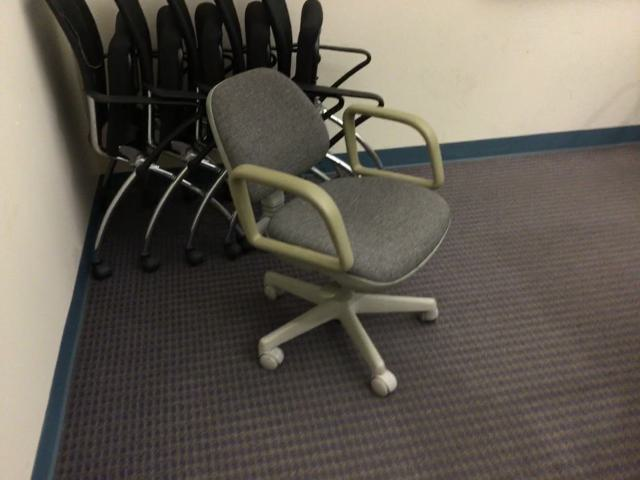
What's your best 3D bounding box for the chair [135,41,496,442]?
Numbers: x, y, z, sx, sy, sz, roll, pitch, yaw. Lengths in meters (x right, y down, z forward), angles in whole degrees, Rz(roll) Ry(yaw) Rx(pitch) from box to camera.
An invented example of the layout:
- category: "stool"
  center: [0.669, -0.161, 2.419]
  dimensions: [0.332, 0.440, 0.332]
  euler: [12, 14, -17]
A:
- category: "chair"
  center: [0.060, -0.050, 1.590]
  dimensions: [0.640, 0.790, 0.630]
  euler: [11, 37, 27]
